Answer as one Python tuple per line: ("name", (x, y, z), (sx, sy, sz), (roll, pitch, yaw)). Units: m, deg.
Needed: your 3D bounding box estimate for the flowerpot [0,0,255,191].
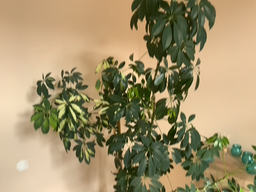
("flowerpot", (0.130, 0.240, 1.470), (1.520, 2.160, 1.300), (4, 9, 5))
